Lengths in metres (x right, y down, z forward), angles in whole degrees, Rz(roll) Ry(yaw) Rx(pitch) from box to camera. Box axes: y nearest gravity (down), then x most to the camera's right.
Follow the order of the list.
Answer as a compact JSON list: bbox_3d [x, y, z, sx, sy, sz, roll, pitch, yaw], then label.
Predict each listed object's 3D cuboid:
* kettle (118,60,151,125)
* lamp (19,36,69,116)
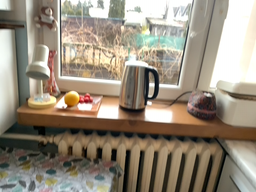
[{"bbox_3d":[0.030,-0.020,1.100,0.130,0.300,0.140,6,19,-1],"label":"kettle"},{"bbox_3d":[-0.410,-0.110,1.080,0.160,0.350,0.220,5,19,-4],"label":"lamp"}]
